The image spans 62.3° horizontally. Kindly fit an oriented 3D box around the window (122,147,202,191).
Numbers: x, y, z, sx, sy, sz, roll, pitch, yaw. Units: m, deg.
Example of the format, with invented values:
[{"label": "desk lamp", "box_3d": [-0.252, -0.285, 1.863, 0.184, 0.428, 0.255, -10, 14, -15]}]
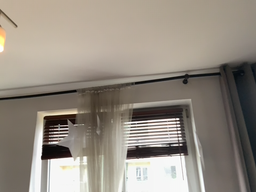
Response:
[{"label": "window", "box_3d": [0.300, 1.010, 1.770, 0.650, 1.100, 0.140, -5, -19, 8]}]
